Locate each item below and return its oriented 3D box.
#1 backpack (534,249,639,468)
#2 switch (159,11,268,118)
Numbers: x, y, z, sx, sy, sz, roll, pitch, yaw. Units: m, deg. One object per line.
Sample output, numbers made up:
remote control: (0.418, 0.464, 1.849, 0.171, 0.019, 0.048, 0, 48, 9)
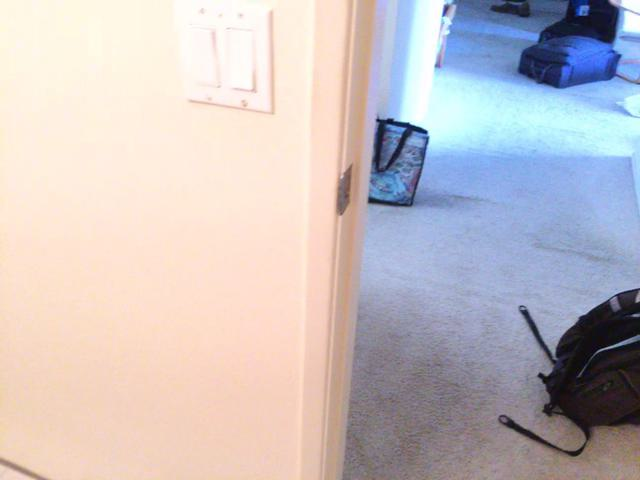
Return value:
backpack: (0.920, 0.310, 1.660, 0.290, 0.490, 0.420, 38, 39, -3)
switch: (-0.120, -0.200, 0.660, 0.120, 0.110, 0.010, 10, 35, 18)
